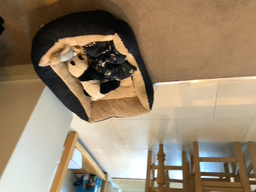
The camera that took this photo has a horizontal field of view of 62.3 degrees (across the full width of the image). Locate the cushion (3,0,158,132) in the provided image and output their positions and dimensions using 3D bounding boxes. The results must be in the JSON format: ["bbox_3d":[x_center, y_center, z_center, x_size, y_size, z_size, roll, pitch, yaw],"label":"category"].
[{"bbox_3d":[-0.190,-0.100,1.390,0.630,0.220,0.930,-4,141,16],"label":"cushion"}]
